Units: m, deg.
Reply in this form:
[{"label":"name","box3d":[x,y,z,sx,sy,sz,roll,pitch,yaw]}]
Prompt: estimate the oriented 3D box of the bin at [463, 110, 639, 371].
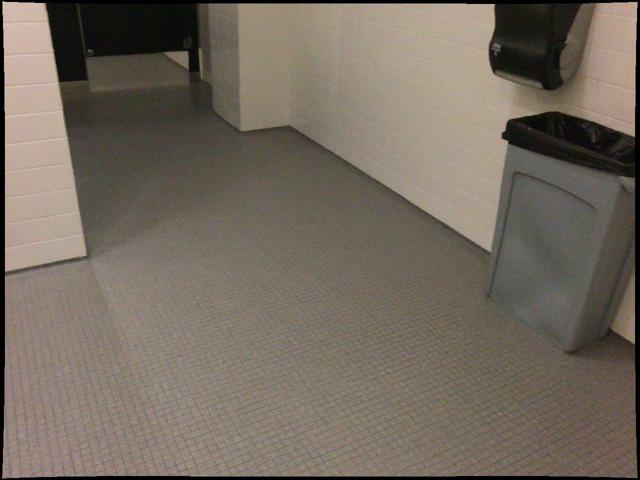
[{"label":"bin","box3d":[0.898,-0.020,2.170,0.289,0.772,0.570,-14,32,-27]}]
